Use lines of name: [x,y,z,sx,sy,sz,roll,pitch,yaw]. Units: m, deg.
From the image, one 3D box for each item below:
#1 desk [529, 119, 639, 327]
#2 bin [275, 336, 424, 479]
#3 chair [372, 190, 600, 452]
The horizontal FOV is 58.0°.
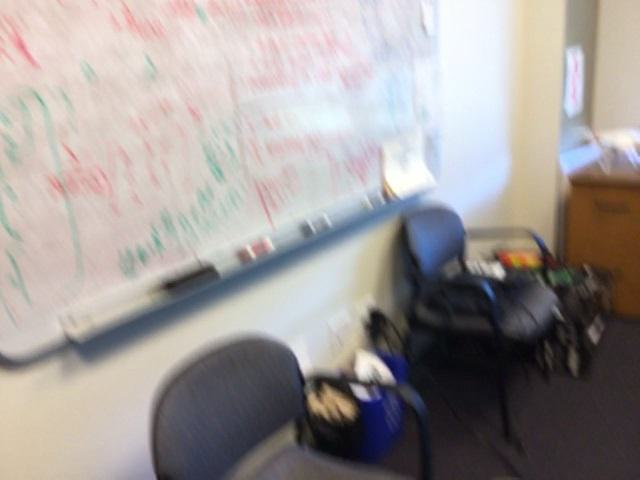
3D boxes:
desk: [1.570,-0.090,2.620,1.020,0.820,0.580,8,24,40]
bin: [0.120,0.610,2.020,0.260,0.330,0.460,8,24,40]
chair: [0.620,0.240,2.130,0.620,0.710,0.490,8,24,40]
